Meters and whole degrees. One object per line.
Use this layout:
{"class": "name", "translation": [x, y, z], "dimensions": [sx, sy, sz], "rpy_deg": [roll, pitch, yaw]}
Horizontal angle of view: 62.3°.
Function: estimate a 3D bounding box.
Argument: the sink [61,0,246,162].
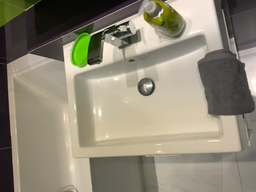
{"class": "sink", "translation": [0.050, -0.020, 0.780], "dimensions": [0.600, 0.180, 0.470], "rpy_deg": [-11, 82, 30]}
